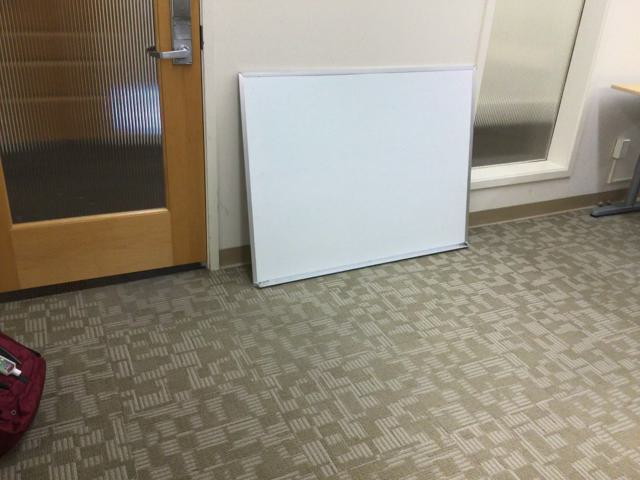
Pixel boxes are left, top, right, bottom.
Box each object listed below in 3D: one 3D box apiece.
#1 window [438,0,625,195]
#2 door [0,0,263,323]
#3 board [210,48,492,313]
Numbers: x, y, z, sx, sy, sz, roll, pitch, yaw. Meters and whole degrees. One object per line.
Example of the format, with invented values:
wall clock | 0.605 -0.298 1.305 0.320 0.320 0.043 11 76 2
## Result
window | 1.040 -1.030 2.820 0.840 1.470 0.290 -14 28 -21
door | -0.810 -0.490 2.050 0.930 1.420 0.200 -20 30 -17
board | 0.200 -0.280 2.570 1.200 0.900 0.190 -17 29 -19
